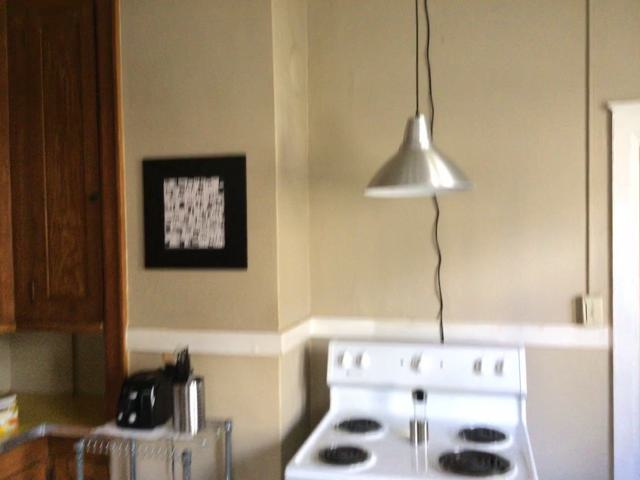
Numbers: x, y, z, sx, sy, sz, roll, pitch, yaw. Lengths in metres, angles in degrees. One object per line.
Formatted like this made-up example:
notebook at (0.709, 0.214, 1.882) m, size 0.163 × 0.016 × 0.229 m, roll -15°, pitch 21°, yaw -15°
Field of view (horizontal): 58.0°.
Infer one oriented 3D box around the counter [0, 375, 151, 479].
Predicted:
counter at (-1.370, 0.800, 2.180) m, size 0.770 × 0.220 × 1.450 m, roll 0°, pitch -1°, yaw 15°

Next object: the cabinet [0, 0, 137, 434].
cabinet at (-1.070, -0.150, 2.460) m, size 0.490 × 1.850 × 0.080 m, roll 2°, pitch -2°, yaw 14°
